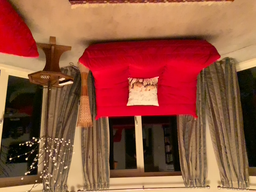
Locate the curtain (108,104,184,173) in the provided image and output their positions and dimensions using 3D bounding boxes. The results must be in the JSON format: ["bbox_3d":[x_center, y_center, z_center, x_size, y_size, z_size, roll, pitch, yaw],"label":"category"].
[{"bbox_3d":[0.290,0.730,3.710,1.240,1.100,0.130,-3,166,2],"label":"curtain"}]

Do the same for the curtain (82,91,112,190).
[{"bbox_3d":[-0.490,0.670,3.360,0.420,1.470,0.250,-2,166,-1],"label":"curtain"}]

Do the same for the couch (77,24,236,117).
[{"bbox_3d":[0.290,-0.260,2.880,1.690,0.860,1.060,-2,166,0],"label":"couch"}]

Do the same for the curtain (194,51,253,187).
[{"bbox_3d":[1.380,0.310,3.150,0.520,1.880,0.230,-12,163,33],"label":"curtain"}]

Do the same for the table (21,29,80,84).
[{"bbox_3d":[-0.950,-0.480,2.720,0.520,0.480,0.570,-2,166,0],"label":"table"}]

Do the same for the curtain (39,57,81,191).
[{"bbox_3d":[-1.020,0.400,3.260,0.480,1.950,0.260,8,163,-35],"label":"curtain"}]

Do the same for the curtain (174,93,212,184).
[{"bbox_3d":[0.990,0.640,3.310,0.370,1.330,0.220,-3,166,4],"label":"curtain"}]
